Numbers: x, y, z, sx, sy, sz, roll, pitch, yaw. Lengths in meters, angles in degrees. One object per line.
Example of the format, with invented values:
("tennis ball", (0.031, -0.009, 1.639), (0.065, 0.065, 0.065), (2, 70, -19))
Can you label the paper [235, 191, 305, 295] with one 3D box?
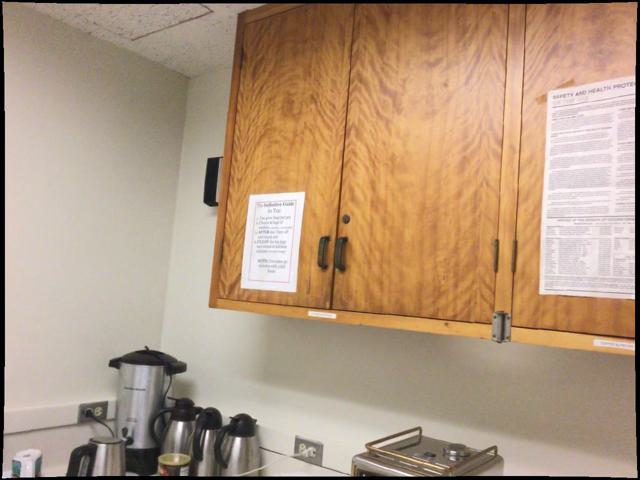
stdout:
("paper", (-0.150, 0.010, 1.680), (0.230, 0.291, 0.020), (-1, -7, 37))
